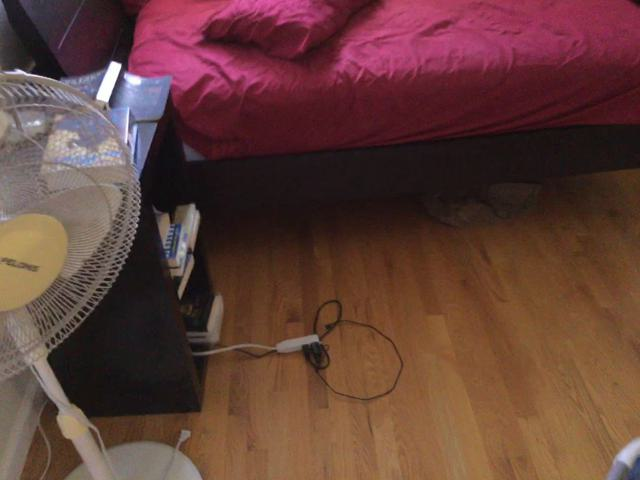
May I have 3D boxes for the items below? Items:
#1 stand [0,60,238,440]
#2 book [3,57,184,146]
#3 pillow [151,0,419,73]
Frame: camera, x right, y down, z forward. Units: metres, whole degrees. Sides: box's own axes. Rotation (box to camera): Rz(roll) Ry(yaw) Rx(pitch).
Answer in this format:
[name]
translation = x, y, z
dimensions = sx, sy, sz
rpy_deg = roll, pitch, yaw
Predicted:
[stand]
translation = -0.560, 0.050, 1.540
dimensions = 0.520, 0.840, 0.490
rpy_deg = -7, 39, 0
[book]
translation = -0.530, -0.340, 1.400
dimensions = 0.360, 0.080, 0.230
rpy_deg = -7, 39, 0
[pillow]
translation = -0.080, -0.830, 2.040
dimensions = 0.720, 0.170, 0.690
rpy_deg = 9, 41, 18
